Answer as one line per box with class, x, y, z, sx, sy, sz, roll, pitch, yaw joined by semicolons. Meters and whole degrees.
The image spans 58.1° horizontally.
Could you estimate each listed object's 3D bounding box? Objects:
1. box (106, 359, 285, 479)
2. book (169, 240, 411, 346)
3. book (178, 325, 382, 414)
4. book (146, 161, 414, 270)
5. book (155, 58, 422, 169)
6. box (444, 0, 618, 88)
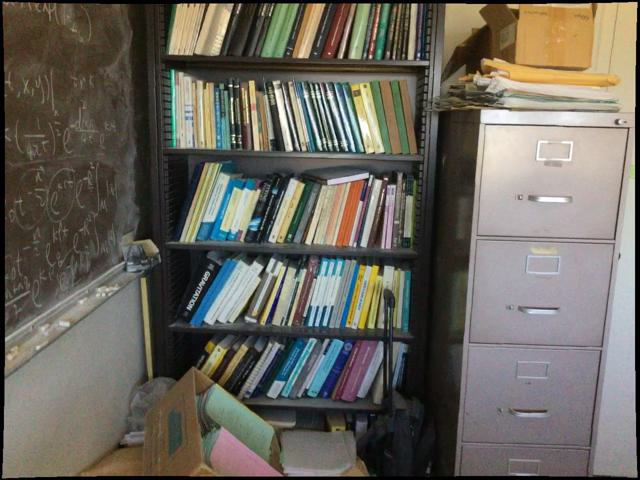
box;-0.379;0.742;1.760;0.449;0.591;0.410;8;-33;-6
book;-0.110;0.190;2.190;0.848;0.291;0.300;2;12;0
book;-0.150;0.491;2.210;0.738;0.241;0.210;2;12;0
book;-0.140;-0.100;2.120;0.908;0.321;0.280;2;12;0
book;-0.110;-0.451;2.070;0.888;0.331;0.250;2;12;0
box;0.588;-0.571;1.690;0.349;0.211;0.390;2;12;0
